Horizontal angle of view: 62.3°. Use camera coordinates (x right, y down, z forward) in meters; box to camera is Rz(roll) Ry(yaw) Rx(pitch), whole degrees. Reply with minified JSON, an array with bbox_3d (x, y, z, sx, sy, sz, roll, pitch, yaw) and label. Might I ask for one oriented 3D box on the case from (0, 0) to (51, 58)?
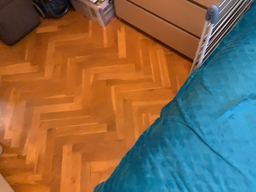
[{"bbox_3d":[-0.960,-0.680,1.670,0.290,0.610,0.380,36,71,20],"label":"case"}]
